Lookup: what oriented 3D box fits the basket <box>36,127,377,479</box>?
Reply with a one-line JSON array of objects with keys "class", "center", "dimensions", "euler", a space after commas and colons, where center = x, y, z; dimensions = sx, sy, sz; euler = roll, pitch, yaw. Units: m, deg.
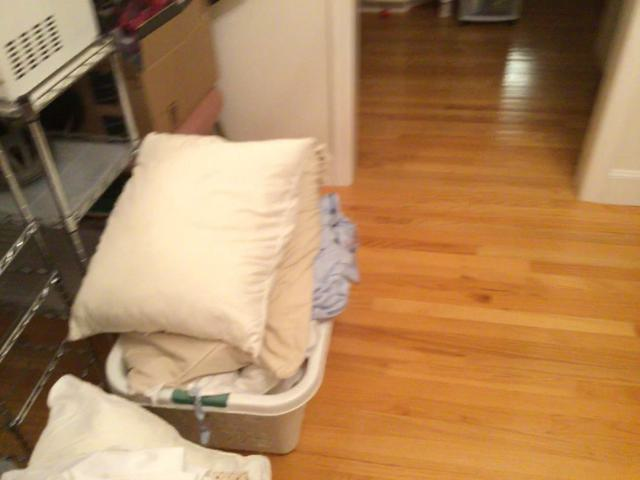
[{"class": "basket", "center": [-0.170, 0.140, 1.450], "dimensions": [0.530, 0.540, 0.720], "euler": [1, 39, 12]}]

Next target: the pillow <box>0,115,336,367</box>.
[{"class": "pillow", "center": [-0.290, -0.040, 1.260], "dimensions": [0.550, 0.180, 0.610], "euler": [1, 39, 12]}]

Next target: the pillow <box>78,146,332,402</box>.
[{"class": "pillow", "center": [-0.210, 0.040, 1.350], "dimensions": [0.370, 0.230, 0.610], "euler": [0, 39, 11]}]

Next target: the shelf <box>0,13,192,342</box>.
[{"class": "shelf", "center": [-0.740, -0.140, 1.380], "dimensions": [0.610, 0.610, 0.430], "euler": [1, 39, 12]}]
